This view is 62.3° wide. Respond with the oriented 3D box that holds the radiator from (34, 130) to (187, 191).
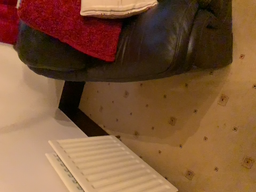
[{"bbox_3d":[-0.110,0.430,1.260,0.660,0.620,0.150,26,104,43],"label":"radiator"}]
